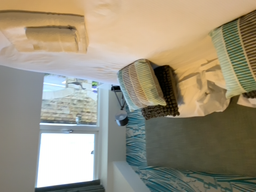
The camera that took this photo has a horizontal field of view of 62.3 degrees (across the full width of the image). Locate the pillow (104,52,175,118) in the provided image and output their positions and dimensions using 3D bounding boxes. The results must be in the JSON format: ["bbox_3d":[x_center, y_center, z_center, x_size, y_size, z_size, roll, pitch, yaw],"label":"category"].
[{"bbox_3d":[0.070,-0.060,1.610,0.150,0.380,0.440,-30,-171,-39],"label":"pillow"}]

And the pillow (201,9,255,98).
[{"bbox_3d":[0.610,-0.200,0.940,0.180,0.330,0.460,-9,176,-38],"label":"pillow"}]
